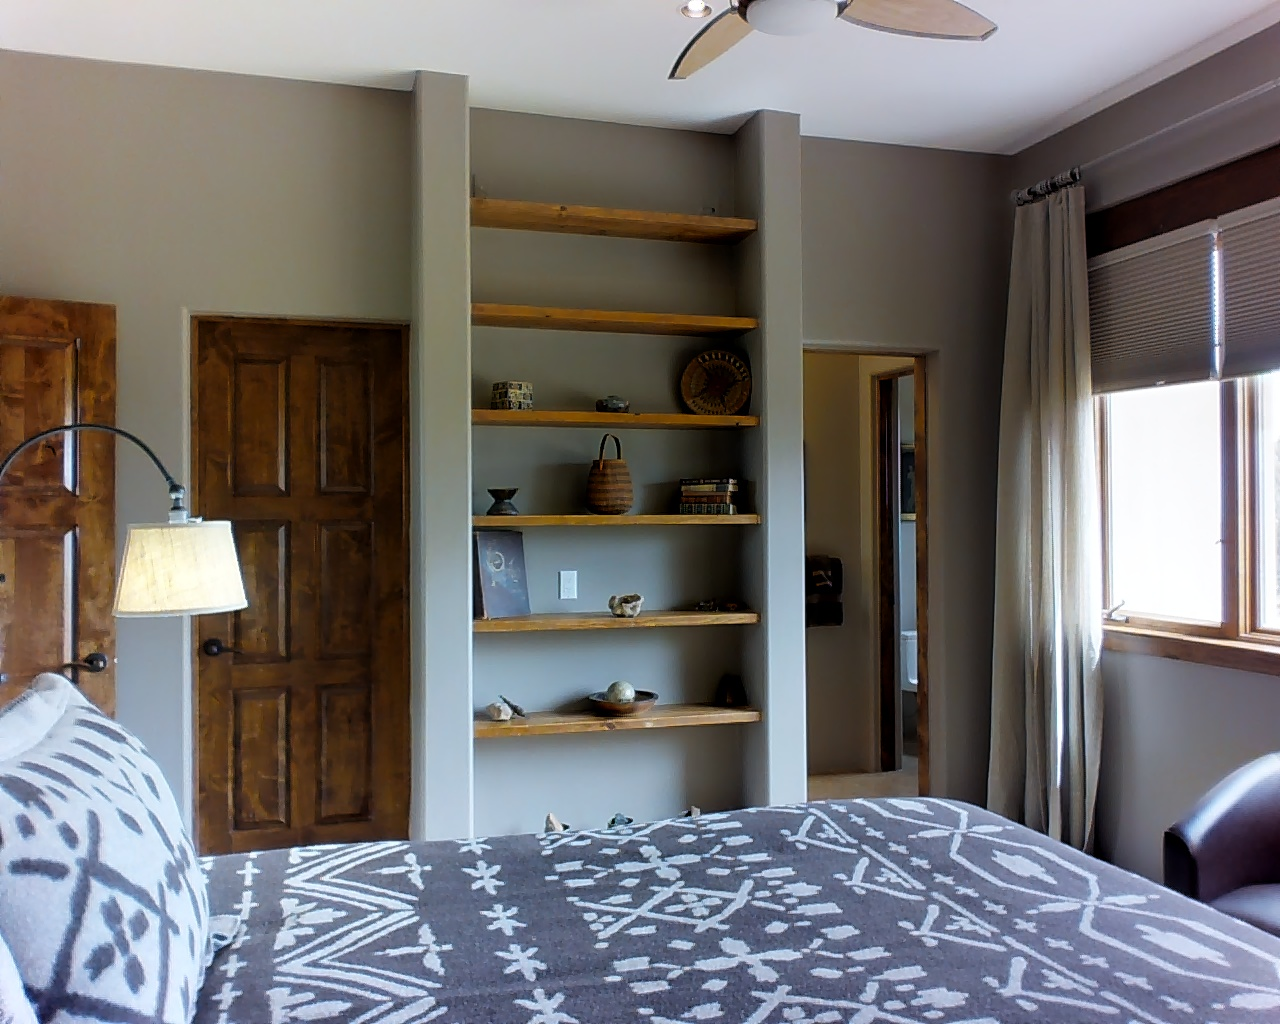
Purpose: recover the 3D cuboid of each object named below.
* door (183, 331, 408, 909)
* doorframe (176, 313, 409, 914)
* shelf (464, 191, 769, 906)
[{"bbox_3d":[-1.290,0.390,4.050,0.790,2.100,0.090,0,0,-16],"label":"door"},{"bbox_3d":[-1.290,0.360,4.020,0.810,2.151,0.140,0,0,-16],"label":"doorframe"},{"bbox_3d":[-0.090,0.130,4.250,1.150,2.621,0.310,0,0,-18],"label":"shelf"}]
